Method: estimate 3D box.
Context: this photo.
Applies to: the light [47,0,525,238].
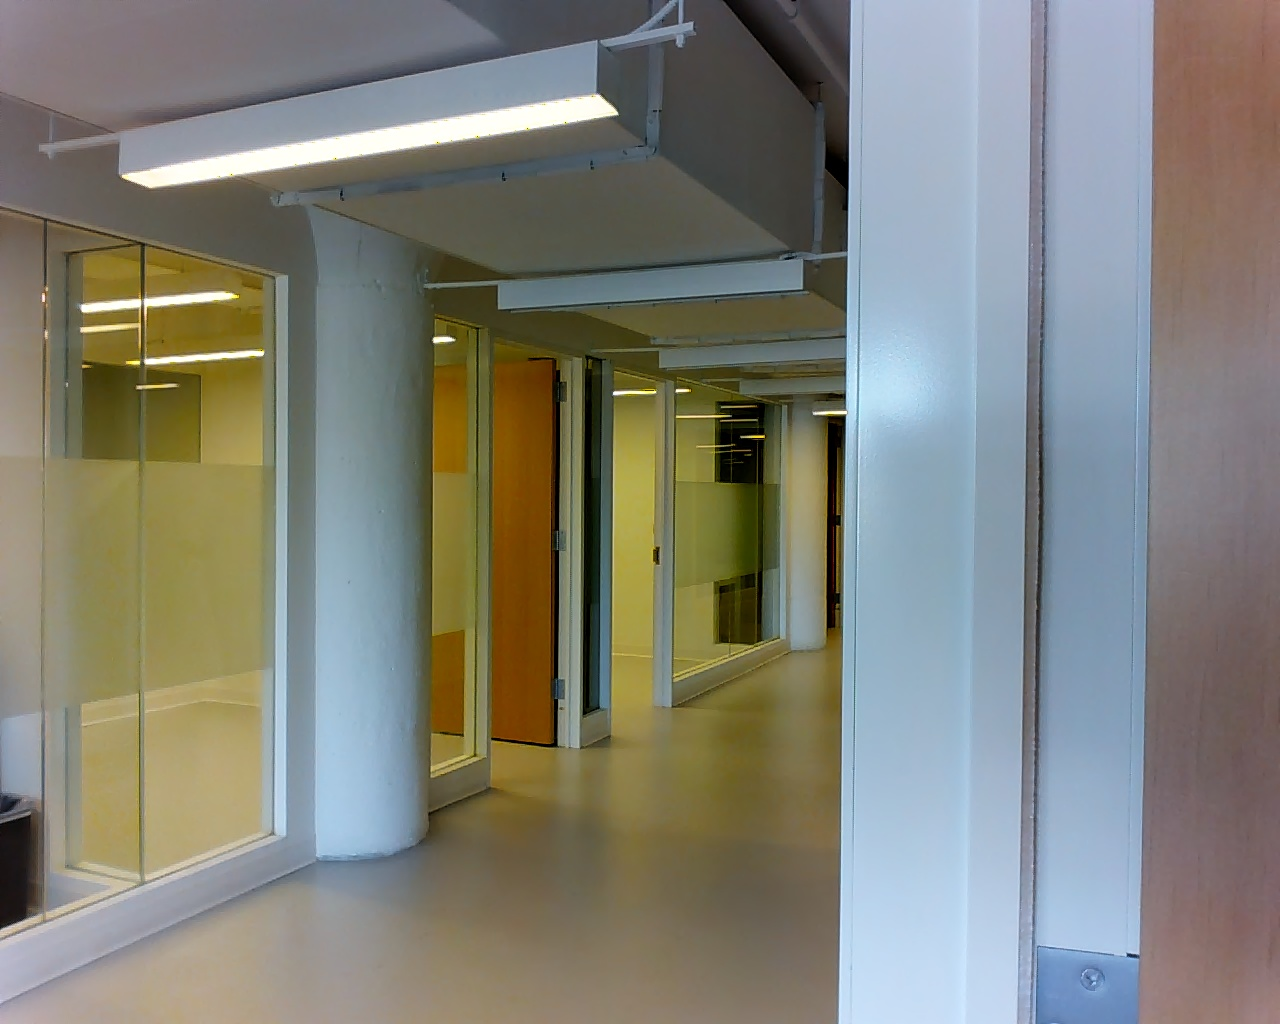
[{"bbox_3d":[-0.620,-0.820,2.240,0.140,0.190,1.250,1,0,24],"label":"light"}]
